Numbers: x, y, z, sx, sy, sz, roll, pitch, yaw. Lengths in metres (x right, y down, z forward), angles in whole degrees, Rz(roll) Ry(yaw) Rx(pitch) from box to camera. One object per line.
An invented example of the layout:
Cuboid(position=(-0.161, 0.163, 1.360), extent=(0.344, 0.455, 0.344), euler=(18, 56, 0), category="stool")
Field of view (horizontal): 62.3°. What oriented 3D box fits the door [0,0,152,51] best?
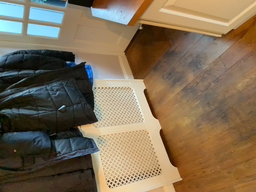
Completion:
Cuboid(position=(-0.730, -0.760, 2.060), extent=(0.660, 1.980, 0.040), euler=(-50, 51, 47), category="door")
